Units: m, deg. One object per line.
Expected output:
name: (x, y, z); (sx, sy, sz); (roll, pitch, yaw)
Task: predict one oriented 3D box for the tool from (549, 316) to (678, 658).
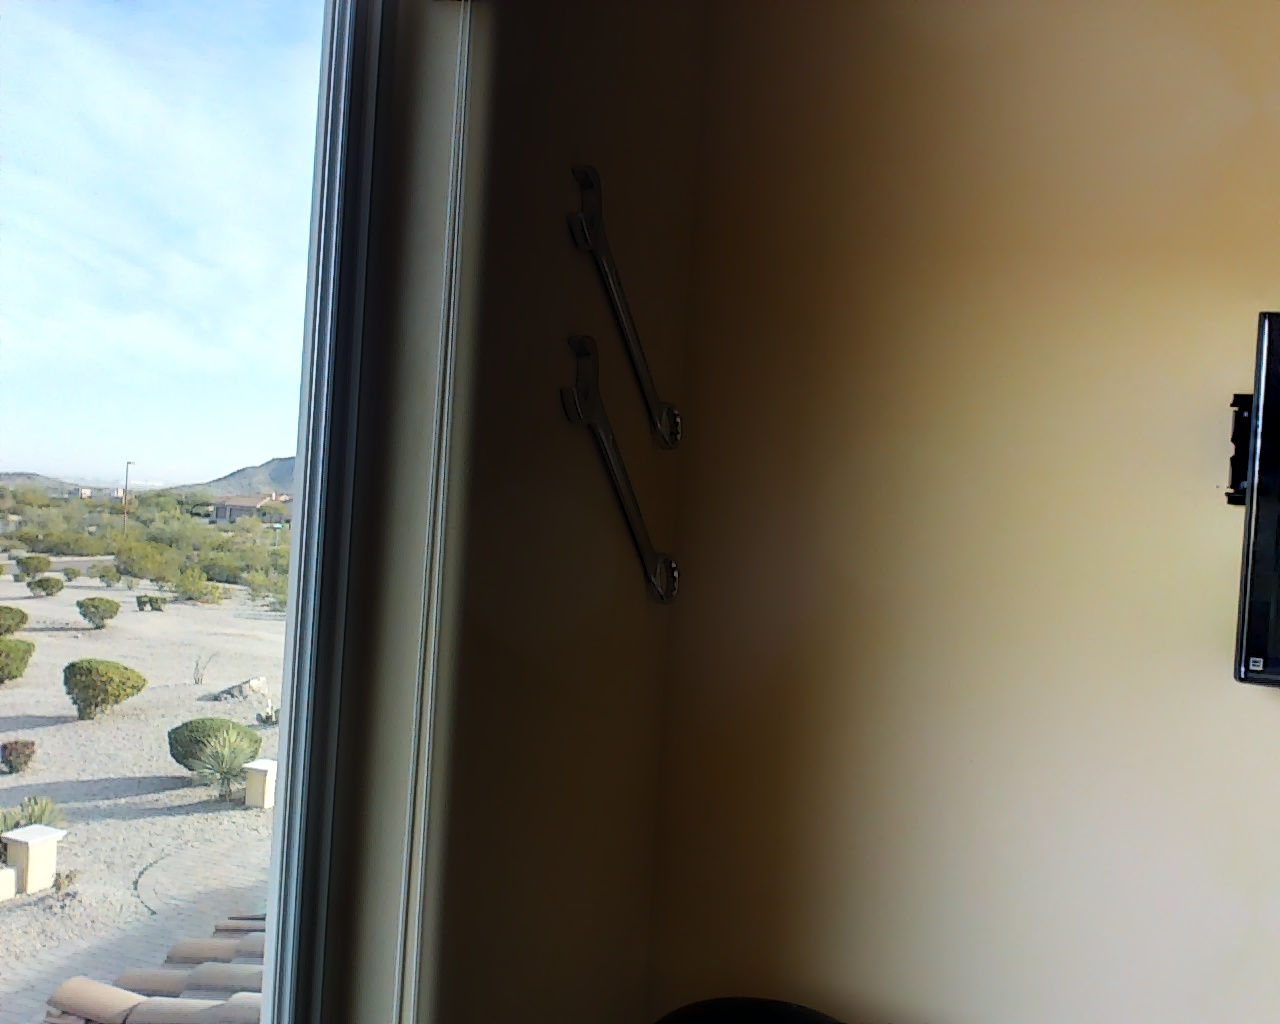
tool: (-0.020, 0.000, 1.580); (0.030, 0.190, 0.660); (4, -29, 14)
